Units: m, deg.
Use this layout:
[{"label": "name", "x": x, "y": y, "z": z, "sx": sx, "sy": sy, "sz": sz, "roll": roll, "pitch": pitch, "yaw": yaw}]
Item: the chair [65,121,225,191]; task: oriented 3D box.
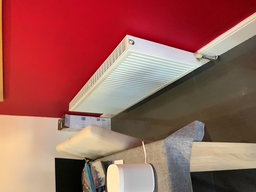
[{"label": "chair", "x": 0.120, "y": 0.520, "z": 1.390, "sx": 0.420, "sy": 0.940, "sz": 0.570, "roll": -33, "pitch": 55, "yaw": 54}]
